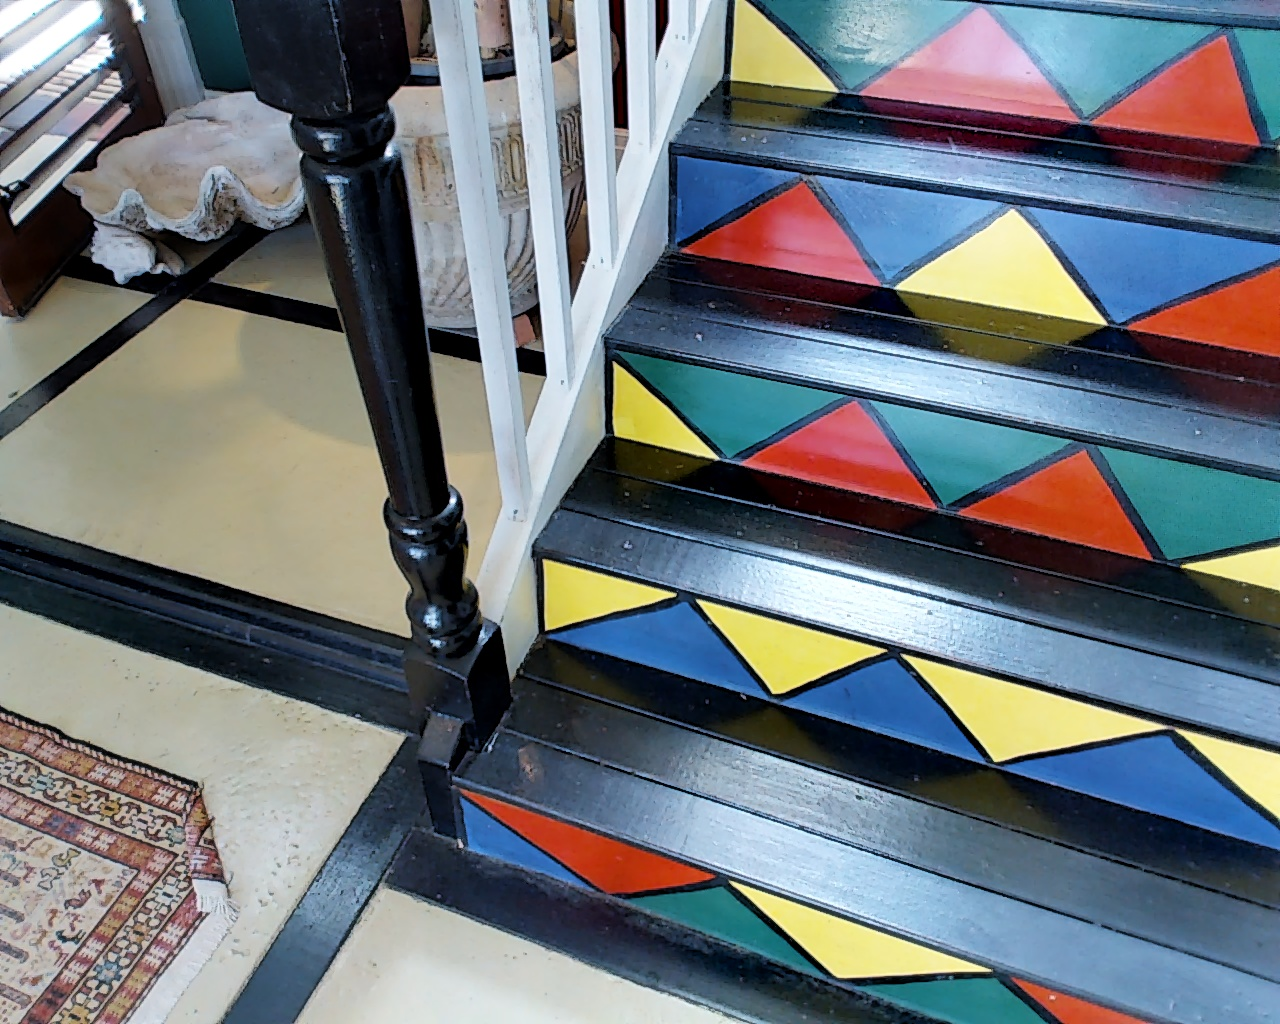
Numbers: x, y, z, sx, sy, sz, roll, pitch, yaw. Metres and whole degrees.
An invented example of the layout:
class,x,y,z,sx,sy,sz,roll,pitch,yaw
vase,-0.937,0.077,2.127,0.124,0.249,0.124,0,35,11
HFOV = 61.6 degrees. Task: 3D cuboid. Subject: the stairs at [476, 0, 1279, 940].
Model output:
class,x,y,z,sx,sy,sz,roll,pitch,yaw
stairs,0.590,-0.580,1.460,1.010,2.010,0.230,14,-12,17
